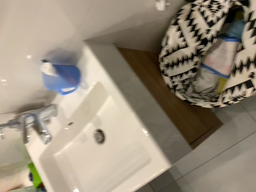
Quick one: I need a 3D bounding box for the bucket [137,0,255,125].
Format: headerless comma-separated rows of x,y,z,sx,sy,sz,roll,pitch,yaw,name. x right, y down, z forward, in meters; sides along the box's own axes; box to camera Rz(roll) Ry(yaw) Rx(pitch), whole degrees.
0.430,-0.210,0.950,0.380,0.550,0.430,-47,68,31,bucket
